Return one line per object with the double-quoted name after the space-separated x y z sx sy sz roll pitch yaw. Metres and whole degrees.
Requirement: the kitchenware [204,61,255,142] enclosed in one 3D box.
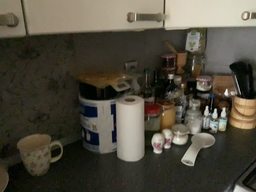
0.570 0.010 1.070 0.260 0.320 0.200 17 26 40 "kitchenware"
